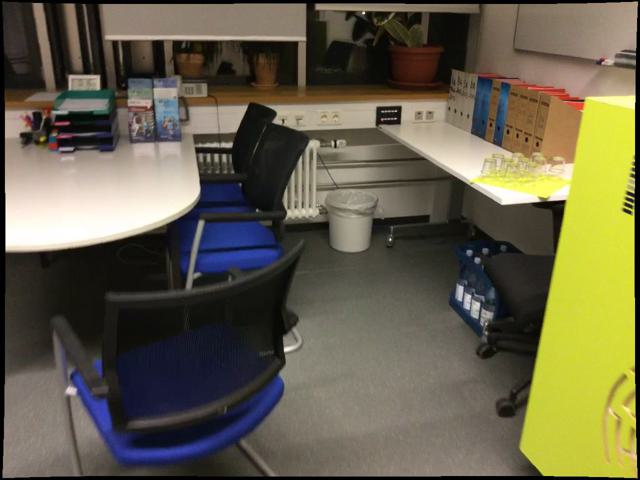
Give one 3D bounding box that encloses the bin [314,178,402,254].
[{"bbox_3d":[0.220,-0.160,3.530,0.420,0.300,0.410,-6,25,-14],"label":"bin"}]
